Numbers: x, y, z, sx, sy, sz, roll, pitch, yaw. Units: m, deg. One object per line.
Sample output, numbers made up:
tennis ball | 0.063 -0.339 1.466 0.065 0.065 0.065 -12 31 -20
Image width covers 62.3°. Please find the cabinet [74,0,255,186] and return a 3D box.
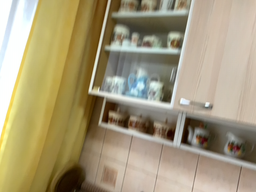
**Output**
cabinet | 0.310 -0.180 1.090 1.030 0.940 0.320 11 -2 29

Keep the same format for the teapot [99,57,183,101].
teapot | 0.080 -0.100 1.260 0.410 0.170 0.240 11 -2 30
